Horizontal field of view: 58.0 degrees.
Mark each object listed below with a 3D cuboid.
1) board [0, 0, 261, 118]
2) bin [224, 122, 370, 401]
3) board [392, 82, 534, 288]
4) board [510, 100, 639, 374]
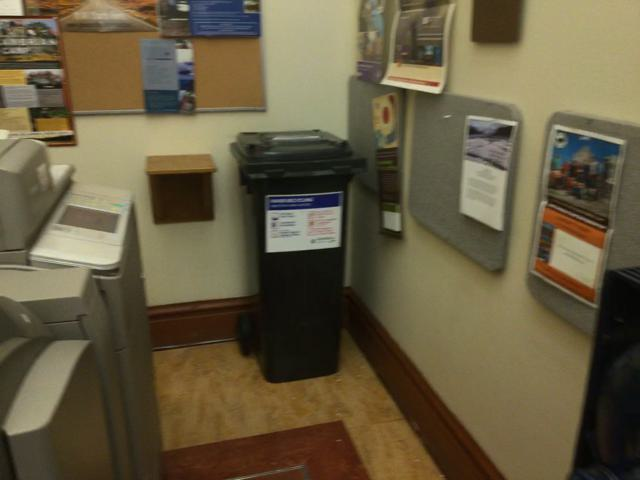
[{"bbox_3d":[-0.820,-0.930,2.190,1.190,0.910,0.030,-4,18,-16],"label":"board"},{"bbox_3d":[-0.120,0.060,2.420,0.470,1.030,0.490,-4,18,-15],"label":"bin"},{"bbox_3d":[0.390,-0.210,1.760,0.050,0.490,0.680,-4,18,-16],"label":"board"},{"bbox_3d":[0.570,-0.020,1.140,0.040,0.460,0.520,-4,18,-16],"label":"board"}]
